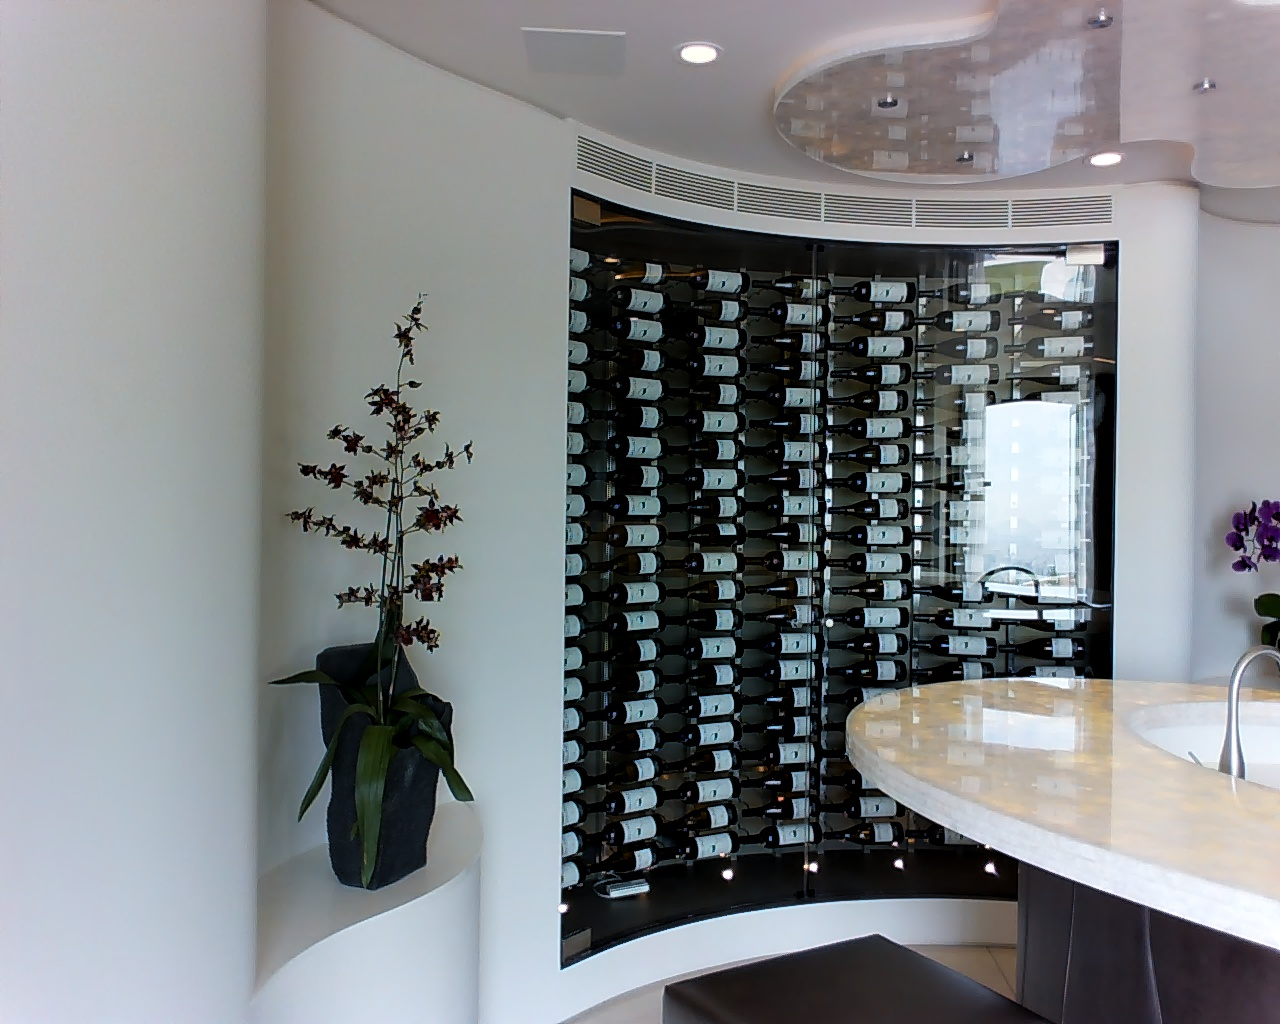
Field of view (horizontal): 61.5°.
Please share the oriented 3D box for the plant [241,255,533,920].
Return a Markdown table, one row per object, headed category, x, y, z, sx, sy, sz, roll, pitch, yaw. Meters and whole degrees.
| category | x | y | z | sx | sy | sz | roll | pitch | yaw |
| --- | --- | --- | --- | --- | --- | --- | --- | --- | --- |
| plant | -0.520 | 0.140 | 2.280 | 0.450 | 1.250 | 0.400 | 1 | 0 | 17 |
